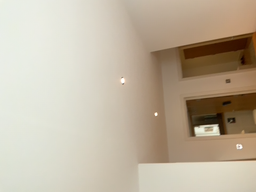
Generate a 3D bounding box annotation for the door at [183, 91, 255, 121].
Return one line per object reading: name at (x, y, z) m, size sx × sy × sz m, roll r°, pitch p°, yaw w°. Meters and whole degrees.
door at (2.460, 0.230, 4.840) m, size 0.950 × 2.220 × 0.150 m, roll 55°, pitch -147°, yaw -56°
